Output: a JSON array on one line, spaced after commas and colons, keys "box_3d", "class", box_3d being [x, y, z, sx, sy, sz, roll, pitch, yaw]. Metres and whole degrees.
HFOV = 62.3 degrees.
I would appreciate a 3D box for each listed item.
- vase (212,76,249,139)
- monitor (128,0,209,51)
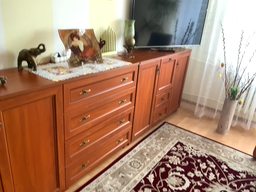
[{"box_3d": [1.350, 0.130, 2.780, 0.210, 0.680, 0.470, 18, 25, 28], "class": "vase"}, {"box_3d": [0.520, -0.900, 2.620, 1.060, 0.660, 0.050, -5, 25, -25], "class": "monitor"}]
